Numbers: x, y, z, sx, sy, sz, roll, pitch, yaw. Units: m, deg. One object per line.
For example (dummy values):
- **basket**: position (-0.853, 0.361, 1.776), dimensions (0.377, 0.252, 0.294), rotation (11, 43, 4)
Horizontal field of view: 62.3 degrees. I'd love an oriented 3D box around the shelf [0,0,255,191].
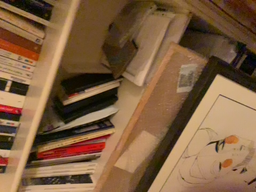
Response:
- **shelf**: position (-0.370, -0.070, 0.580), dimensions (0.330, 2.420, 0.760), rotation (41, 112, 52)
